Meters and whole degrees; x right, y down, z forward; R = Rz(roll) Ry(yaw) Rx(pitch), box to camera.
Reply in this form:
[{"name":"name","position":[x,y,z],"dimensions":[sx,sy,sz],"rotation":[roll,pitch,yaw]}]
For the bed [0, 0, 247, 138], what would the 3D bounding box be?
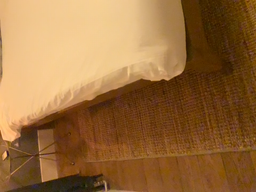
[{"name":"bed","position":[-0.490,-0.570,1.630],"dimensions":[2.060,0.670,1.500],"rotation":[-19,76,42]}]
